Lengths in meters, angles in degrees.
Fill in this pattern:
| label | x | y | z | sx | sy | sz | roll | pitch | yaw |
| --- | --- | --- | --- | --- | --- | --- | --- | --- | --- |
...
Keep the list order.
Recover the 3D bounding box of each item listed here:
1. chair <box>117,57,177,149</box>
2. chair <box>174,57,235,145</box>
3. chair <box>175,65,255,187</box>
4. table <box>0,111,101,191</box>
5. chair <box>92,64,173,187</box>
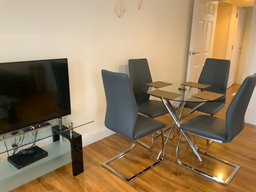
| label | x | y | z | sx | sy | sz | roll | pitch | yaw |
| --- | --- | --- | --- | --- | --- | --- | --- | --- | --- |
| chair | 0.220 | 0.050 | 2.740 | 0.550 | 1.010 | 0.480 | 16 | 23 | 42 |
| chair | 1.030 | 0.020 | 2.890 | 0.480 | 1.020 | 0.580 | 15 | 21 | 40 |
| chair | 0.880 | 0.240 | 2.140 | 0.570 | 1.010 | 0.460 | 15 | 21 | 41 |
| table | -0.870 | 0.570 | 1.880 | 0.460 | 0.470 | 1.260 | 15 | 22 | 39 |
| chair | 0.040 | 0.230 | 2.140 | 0.500 | 1.000 | 0.590 | 16 | 22 | 41 |
